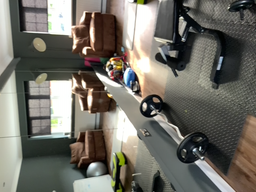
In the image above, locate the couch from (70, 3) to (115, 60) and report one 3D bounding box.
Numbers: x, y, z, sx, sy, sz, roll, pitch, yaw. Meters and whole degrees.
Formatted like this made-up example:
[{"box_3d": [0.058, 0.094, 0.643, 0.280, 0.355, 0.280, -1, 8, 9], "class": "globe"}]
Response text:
[{"box_3d": [-0.860, -1.430, 4.950, 0.930, 0.860, 0.970, 175, 94, -70], "class": "couch"}]
